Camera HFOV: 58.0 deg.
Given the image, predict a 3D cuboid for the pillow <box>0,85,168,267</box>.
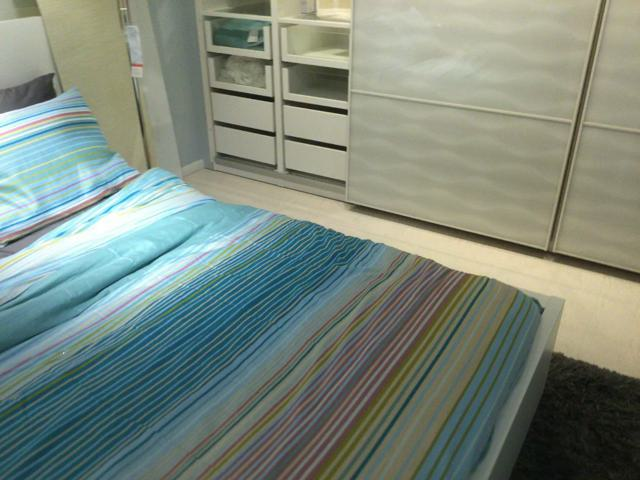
[{"bbox_3d":[-0.940,-0.220,1.970,0.190,0.430,0.710,-21,10,42],"label":"pillow"}]
